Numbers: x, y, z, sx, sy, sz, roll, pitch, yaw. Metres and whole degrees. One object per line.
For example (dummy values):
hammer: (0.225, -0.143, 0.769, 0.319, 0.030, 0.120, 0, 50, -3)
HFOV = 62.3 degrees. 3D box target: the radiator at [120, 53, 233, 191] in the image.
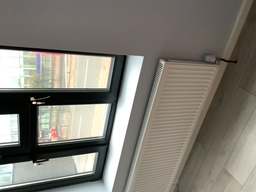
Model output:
radiator: (0.330, 0.420, 1.810, 0.100, 0.610, 1.540, -129, 45, -52)

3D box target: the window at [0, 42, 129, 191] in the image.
window: (-0.640, 0.270, 1.770, 0.060, 1.120, 1.360, -131, 46, -53)
